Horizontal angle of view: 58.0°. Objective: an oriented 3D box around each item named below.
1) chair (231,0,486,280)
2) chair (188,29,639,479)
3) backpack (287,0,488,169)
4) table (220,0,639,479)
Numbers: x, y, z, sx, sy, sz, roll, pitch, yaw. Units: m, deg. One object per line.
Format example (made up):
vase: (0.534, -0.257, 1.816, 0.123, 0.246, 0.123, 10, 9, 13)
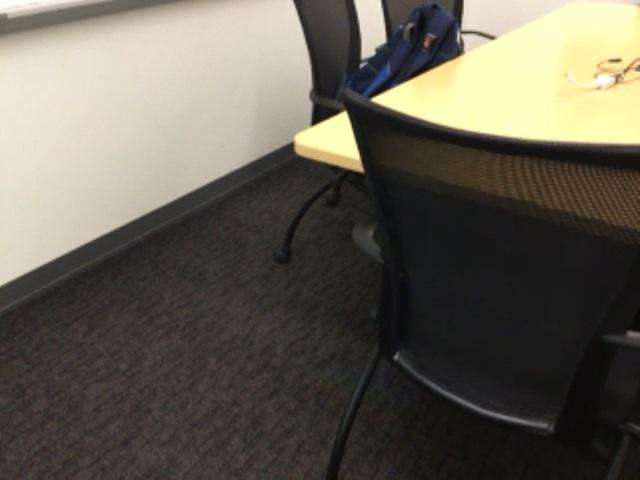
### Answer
chair: (0.140, -0.440, 1.940, 0.590, 0.870, 0.510, 20, 38, 34)
chair: (0.240, 0.170, 1.040, 0.580, 0.910, 0.540, 20, 38, 34)
backpack: (0.220, -0.540, 1.840, 0.420, 0.410, 0.460, 20, 38, 34)
table: (0.870, -0.240, 1.760, 1.120, 0.800, 2.000, 20, 38, 34)
